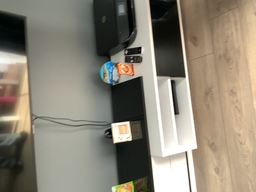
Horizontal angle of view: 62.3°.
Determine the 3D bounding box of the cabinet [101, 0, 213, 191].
[{"bbox_3d":[0.170,0.000,1.540,0.500,0.400,1.630,-16,77,52],"label":"cabinet"}]
